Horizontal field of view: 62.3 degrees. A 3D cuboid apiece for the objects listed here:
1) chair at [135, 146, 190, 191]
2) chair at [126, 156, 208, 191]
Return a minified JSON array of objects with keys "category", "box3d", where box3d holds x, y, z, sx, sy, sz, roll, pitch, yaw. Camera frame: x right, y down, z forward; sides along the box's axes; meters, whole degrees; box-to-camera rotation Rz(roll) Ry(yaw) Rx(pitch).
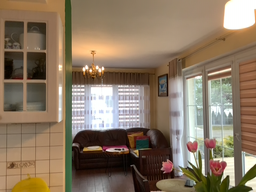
[{"category":"chair","box3d":[0.380,1.150,2.470,0.480,1.010,0.540,0,-2,-10]},{"category":"chair","box3d":[0.310,1.130,1.880,0.540,1.010,0.580,0,-2,-12]}]
